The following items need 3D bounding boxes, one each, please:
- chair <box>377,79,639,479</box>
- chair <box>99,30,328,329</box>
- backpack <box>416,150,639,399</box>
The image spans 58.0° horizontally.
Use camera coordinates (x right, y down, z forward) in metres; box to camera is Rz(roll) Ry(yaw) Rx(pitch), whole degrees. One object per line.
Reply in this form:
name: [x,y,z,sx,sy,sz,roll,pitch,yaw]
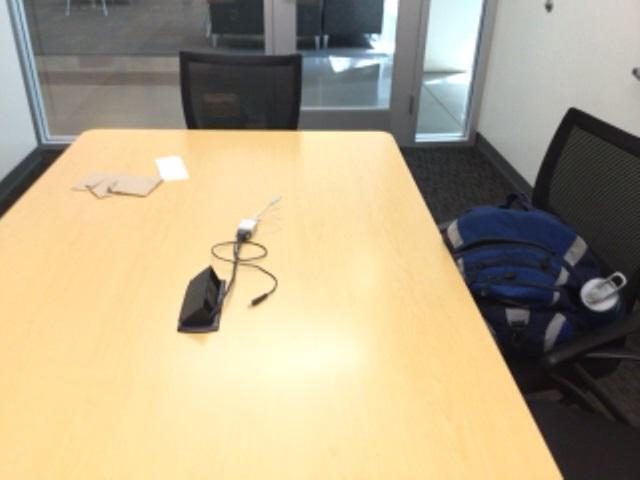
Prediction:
chair: [0.500,0.130,1.470,0.620,0.890,0.670,1,30,1]
chair: [-0.320,-0.230,2.100,0.640,0.910,0.570,-2,30,-4]
backpack: [0.470,0.060,1.350,0.400,0.390,0.450,1,30,1]
